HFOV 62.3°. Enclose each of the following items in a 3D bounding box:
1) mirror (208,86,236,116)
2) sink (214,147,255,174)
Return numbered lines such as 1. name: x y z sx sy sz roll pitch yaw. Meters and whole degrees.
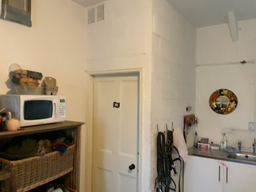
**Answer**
1. mirror: 1.410 0.070 3.200 0.380 0.440 0.030 1 0 33
2. sink: 1.480 0.840 2.830 0.540 0.150 0.510 1 0 32
